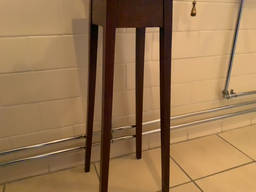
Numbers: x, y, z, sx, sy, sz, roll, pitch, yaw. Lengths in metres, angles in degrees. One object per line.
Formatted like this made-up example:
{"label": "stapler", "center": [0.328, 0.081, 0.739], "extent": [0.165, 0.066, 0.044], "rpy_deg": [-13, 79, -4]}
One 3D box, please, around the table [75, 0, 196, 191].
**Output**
{"label": "table", "center": [0.000, -0.010, 0.600], "extent": [0.220, 0.630, 0.220], "rpy_deg": [-8, 24, -21]}
